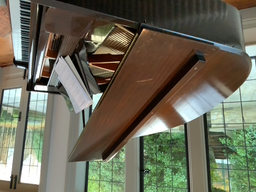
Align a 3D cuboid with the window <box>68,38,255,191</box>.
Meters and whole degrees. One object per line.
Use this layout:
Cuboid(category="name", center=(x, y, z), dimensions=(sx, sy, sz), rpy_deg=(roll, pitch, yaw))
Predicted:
Cuboid(category="window", center=(0.340, 0.430, 2.430), dimensions=(2.300, 1.940, 0.110), rpy_deg=(-4, 167, 22))
